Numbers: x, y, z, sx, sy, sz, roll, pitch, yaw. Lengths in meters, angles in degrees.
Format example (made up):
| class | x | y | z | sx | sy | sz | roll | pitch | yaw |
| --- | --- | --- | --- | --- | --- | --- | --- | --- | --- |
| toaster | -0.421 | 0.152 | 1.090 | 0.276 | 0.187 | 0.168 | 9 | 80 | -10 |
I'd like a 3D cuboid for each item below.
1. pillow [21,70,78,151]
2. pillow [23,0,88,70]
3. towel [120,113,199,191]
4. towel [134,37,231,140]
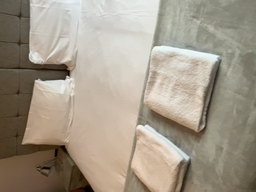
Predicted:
| class | x | y | z | sx | sy | sz | roll | pitch | yaw |
| --- | --- | --- | --- | --- | --- | --- | --- | --- | --- |
| pillow | -0.800 | 0.170 | 2.160 | 0.190 | 0.440 | 0.780 | -129 | 49 | -62 |
| pillow | -0.650 | -0.630 | 1.910 | 0.130 | 0.470 | 0.700 | -128 | 48 | -64 |
| towel | 0.140 | 0.360 | 1.180 | 0.430 | 0.080 | 0.370 | 33 | 117 | 46 |
| towel | 0.230 | -0.060 | 1.040 | 0.400 | 0.110 | 0.380 | 30 | 116 | 47 |
